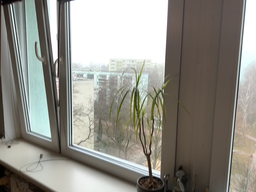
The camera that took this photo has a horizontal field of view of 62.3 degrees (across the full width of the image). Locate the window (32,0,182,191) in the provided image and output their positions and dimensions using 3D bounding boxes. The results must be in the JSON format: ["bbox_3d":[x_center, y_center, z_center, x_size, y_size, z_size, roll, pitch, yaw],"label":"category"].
[{"bbox_3d":[-0.170,-0.230,1.170,0.850,1.460,0.210,7,10,32],"label":"window"}]
